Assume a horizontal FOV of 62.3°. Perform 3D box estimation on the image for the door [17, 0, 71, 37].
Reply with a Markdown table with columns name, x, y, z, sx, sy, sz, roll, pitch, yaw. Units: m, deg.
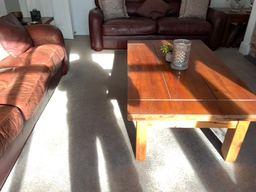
| name | x | y | z | sx | sy | sz | roll | pitch | yaw |
| --- | --- | --- | --- | --- | --- | --- | --- | --- | --- |
| door | -1.490 | -2.010 | 3.450 | 0.900 | 2.020 | 0.050 | 6 | 32 | 9 |

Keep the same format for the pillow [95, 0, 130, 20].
| name | x | y | z | sx | sy | sz | roll | pitch | yaw |
| --- | --- | --- | --- | --- | --- | --- | --- | --- | --- |
| pillow | -0.250 | -1.520 | 3.480 | 0.460 | 0.340 | 0.250 | -20 | 28 | 7 |

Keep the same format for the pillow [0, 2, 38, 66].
| name | x | y | z | sx | sy | sz | roll | pitch | yaw |
| --- | --- | --- | --- | --- | --- | --- | --- | --- | --- |
| pillow | -1.210 | -0.620 | 2.080 | 0.230 | 0.460 | 0.450 | -27 | 26 | 14 |
